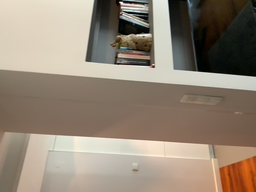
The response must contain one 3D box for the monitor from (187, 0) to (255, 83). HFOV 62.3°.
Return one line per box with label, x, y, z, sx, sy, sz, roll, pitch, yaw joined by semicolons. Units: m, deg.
monitor;0.750;-0.510;1.550;0.050;0.600;0.910;108;166;-63
